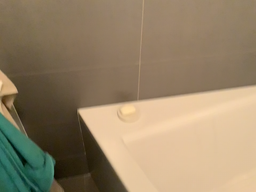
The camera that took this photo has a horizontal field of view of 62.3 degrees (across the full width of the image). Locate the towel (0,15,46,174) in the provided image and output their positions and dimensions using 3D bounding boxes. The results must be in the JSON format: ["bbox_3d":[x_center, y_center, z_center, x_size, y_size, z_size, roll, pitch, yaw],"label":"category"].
[{"bbox_3d":[-0.470,0.030,0.870,0.110,0.620,0.260,-7,41,-11],"label":"towel"}]
